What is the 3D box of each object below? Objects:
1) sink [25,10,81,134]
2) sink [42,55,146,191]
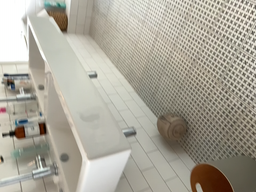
[{"bbox_3d":[-0.490,-0.160,1.300,0.560,0.160,0.510,52,137,39],"label":"sink"},{"bbox_3d":[-0.220,0.190,0.940,0.580,0.170,0.510,52,137,39],"label":"sink"}]
